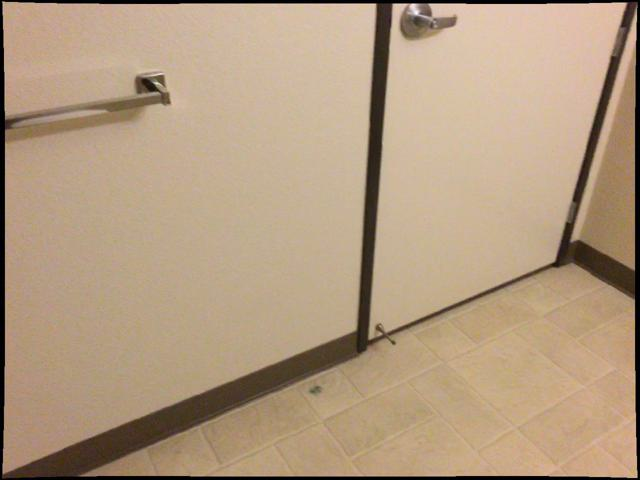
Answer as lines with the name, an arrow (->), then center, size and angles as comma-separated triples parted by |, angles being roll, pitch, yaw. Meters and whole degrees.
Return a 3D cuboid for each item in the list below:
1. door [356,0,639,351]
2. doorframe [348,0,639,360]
door -> 0.559, -0.622, 1.610 | 0.988, 1.964, 0.070 | -18, 36, -26
doorframe -> 0.559, -0.622, 1.610 | 1.058, 2.024, 0.050 | -18, 36, -26
